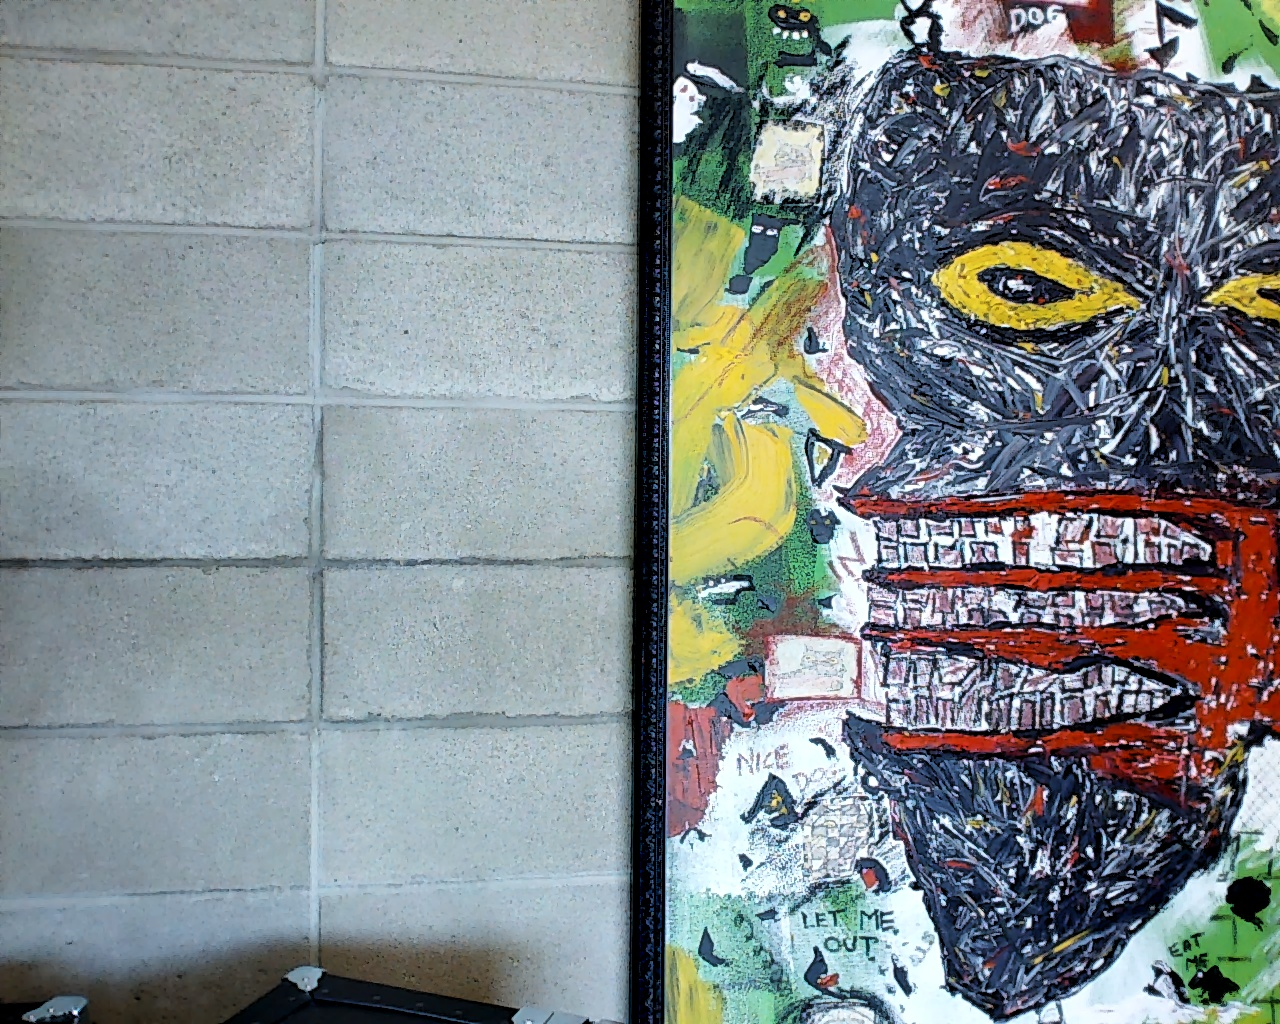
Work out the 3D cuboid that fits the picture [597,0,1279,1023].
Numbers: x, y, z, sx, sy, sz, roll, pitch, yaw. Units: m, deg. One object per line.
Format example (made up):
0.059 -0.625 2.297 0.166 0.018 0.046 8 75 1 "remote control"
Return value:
0.460 0.060 1.410 1.020 1.790 0.110 0 1 -7 "picture"
